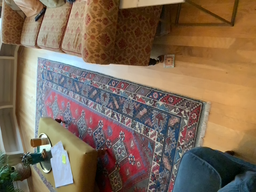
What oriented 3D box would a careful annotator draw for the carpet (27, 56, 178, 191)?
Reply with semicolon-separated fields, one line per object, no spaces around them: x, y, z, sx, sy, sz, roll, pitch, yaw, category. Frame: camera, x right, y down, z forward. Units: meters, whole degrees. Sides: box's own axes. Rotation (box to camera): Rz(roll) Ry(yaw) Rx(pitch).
-0.690;0.570;2.560;2.650;0.060;1.870;17;104;44;carpet
